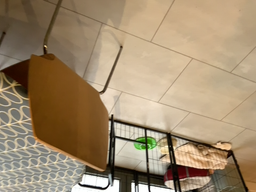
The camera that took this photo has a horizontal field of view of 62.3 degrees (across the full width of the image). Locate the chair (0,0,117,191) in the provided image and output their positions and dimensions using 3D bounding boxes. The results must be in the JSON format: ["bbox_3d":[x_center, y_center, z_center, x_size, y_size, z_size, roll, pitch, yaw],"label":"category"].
[{"bbox_3d":[-0.400,-0.030,0.980,0.530,0.870,0.420,-22,132,21],"label":"chair"}]
